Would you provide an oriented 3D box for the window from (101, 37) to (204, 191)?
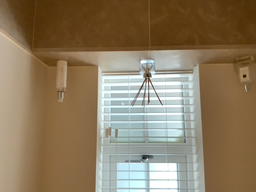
[{"bbox_3d":[0.130,0.270,1.240,0.540,1.210,0.160,-1,171,4],"label":"window"}]
